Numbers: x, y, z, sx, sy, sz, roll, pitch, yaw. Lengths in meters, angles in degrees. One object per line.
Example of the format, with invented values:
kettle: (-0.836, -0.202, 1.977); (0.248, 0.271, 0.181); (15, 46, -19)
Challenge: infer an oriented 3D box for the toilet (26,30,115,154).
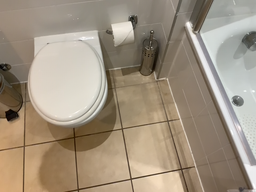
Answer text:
toilet: (-0.300, 0.000, 1.220); (0.360, 0.450, 0.520); (-9, 65, -5)
